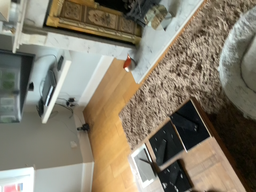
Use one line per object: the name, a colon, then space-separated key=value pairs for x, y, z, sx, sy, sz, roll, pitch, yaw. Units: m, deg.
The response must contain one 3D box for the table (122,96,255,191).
table: x=0.390 y=0.570 z=1.450 sx=0.890 sy=0.280 sz=0.740 roll=-52 pitch=48 yaw=40
